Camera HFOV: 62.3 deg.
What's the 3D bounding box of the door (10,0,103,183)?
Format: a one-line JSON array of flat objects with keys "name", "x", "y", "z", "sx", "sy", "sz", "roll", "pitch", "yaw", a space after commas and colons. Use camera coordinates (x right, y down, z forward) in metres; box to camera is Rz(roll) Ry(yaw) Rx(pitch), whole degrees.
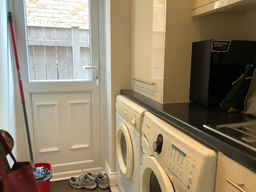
[{"name": "door", "x": -0.620, "y": -0.230, "z": 1.960, "sx": 0.740, "sy": 2.000, "sz": 0.170, "roll": -4, "pitch": 11, "yaw": -24}]
